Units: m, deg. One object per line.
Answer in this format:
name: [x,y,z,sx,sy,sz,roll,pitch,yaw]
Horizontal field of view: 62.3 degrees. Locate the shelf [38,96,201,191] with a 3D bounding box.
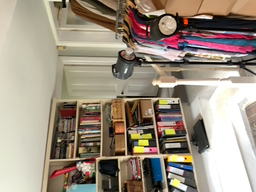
shelf: [-0.080,1.190,2.600,0.330,1.880,2.540,103,165,-60]

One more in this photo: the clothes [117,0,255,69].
clothes: [0.630,-0.770,2.070,0.670,1.400,0.720,102,166,-58]
